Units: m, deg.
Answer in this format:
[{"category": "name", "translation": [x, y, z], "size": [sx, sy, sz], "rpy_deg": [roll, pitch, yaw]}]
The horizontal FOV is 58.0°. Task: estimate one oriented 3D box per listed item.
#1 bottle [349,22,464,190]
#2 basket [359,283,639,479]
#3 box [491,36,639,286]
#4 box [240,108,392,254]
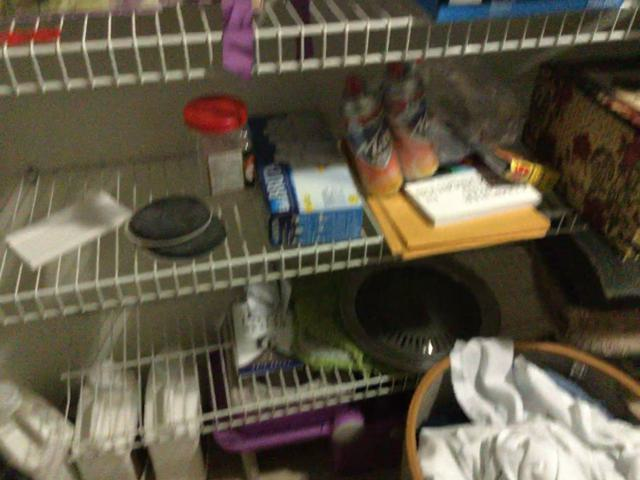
[{"category": "bottle", "translation": [0.120, -0.190, 0.850], "size": [0.140, 0.240, 0.030], "rpy_deg": [-8, 39, -11]}, {"category": "basket", "translation": [0.370, 0.460, 1.020], "size": [0.460, 0.520, 0.480], "rpy_deg": [-8, 39, -11]}, {"category": "box", "translation": [0.590, -0.160, 0.930], "size": [0.460, 0.210, 0.370], "rpy_deg": [-8, 39, -11]}, {"category": "box", "translation": [-0.020, -0.110, 0.940], "size": [0.180, 0.070, 0.300], "rpy_deg": [-8, 39, -11]}]
